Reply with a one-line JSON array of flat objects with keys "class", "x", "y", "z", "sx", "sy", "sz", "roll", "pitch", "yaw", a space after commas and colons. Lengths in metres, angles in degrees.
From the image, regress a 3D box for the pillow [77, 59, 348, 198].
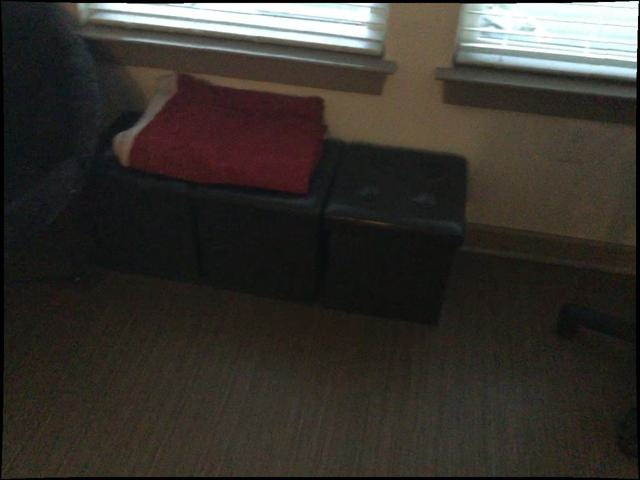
[{"class": "pillow", "x": -0.279, "y": -0.331, "z": 1.640, "sx": 0.659, "sy": 0.160, "sz": 0.340, "roll": 9, "pitch": 42, "yaw": 9}]
